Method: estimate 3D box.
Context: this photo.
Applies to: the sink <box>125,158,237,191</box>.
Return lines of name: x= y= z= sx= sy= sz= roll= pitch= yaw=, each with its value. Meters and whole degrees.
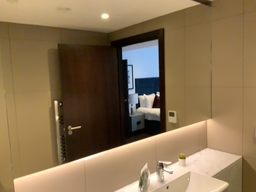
sink: x=0.350 y=0.630 z=1.400 sx=0.560 sy=0.150 sz=0.480 roll=-7 pitch=8 yaw=-40
